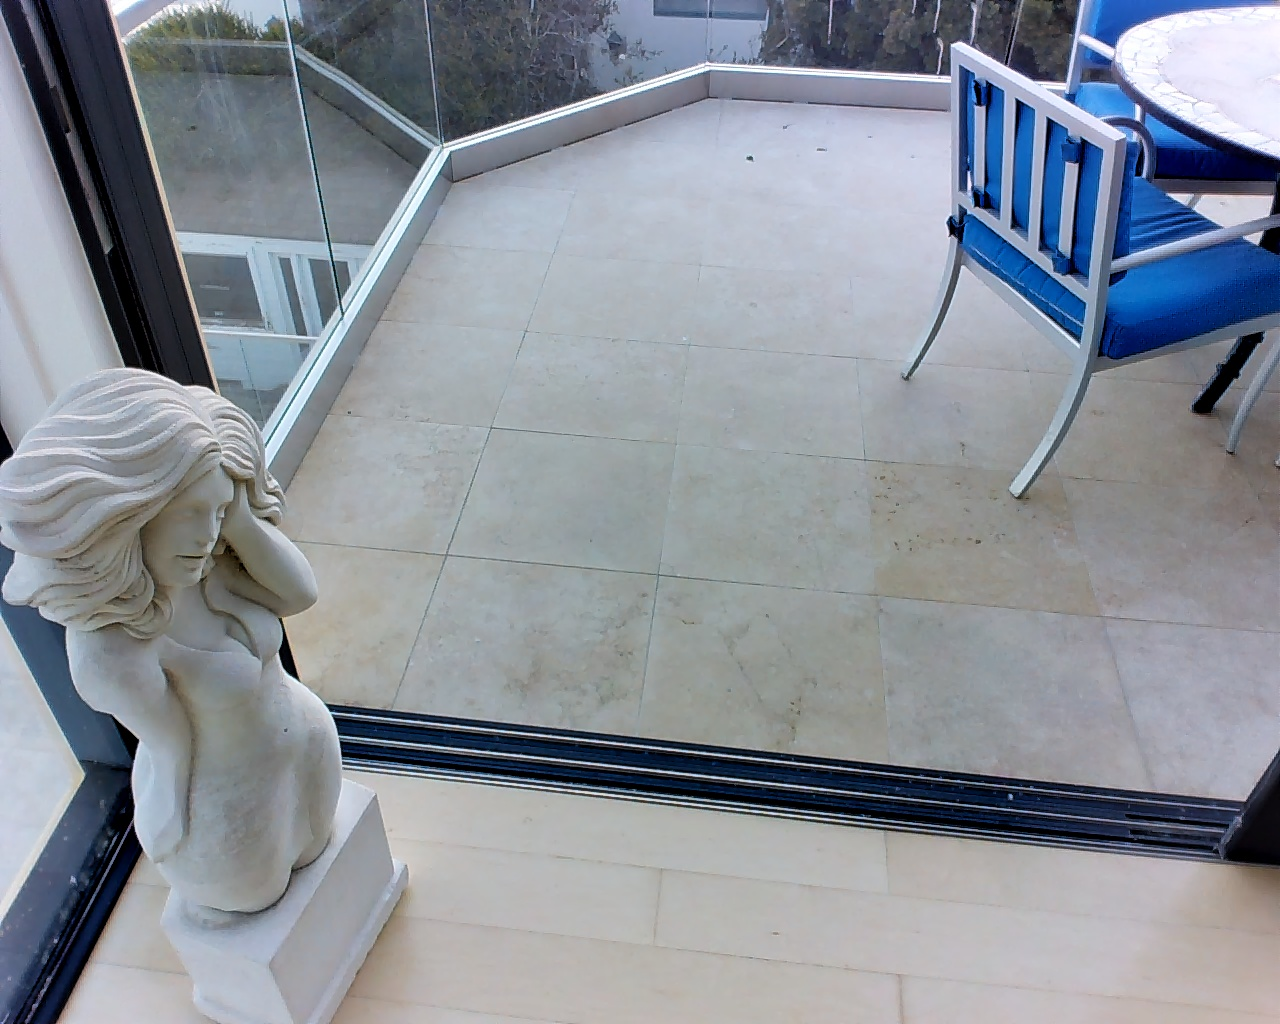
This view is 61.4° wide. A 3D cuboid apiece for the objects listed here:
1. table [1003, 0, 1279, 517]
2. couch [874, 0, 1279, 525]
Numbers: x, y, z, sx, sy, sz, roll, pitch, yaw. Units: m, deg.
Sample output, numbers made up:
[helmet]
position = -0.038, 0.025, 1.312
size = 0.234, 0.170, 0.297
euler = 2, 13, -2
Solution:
[table]
position = 1.720, -0.690, 2.680
size = 1.220, 0.800, 1.270
euler = 4, 41, 4
[couch]
position = 1.090, -0.590, 2.520
size = 0.710, 0.910, 0.690
euler = -10, 42, -12
